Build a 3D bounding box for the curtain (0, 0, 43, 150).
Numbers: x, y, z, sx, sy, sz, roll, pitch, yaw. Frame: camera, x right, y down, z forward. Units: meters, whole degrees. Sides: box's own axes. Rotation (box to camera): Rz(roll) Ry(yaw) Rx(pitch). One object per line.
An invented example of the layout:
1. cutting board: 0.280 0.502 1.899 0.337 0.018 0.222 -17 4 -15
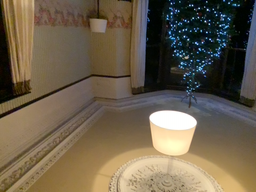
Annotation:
1. curtain: -1.680 -0.800 3.100 0.440 3.360 0.310 5 -163 11
